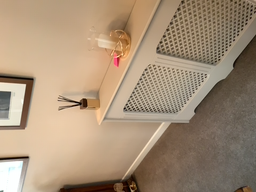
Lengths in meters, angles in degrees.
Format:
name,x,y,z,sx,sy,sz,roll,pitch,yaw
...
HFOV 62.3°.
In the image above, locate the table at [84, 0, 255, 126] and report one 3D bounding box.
name,x,y,z,sx,sy,sz,roll,pitch,yaw
table,0.350,-0.270,1.460,1.240,0.960,0.170,-62,37,34
